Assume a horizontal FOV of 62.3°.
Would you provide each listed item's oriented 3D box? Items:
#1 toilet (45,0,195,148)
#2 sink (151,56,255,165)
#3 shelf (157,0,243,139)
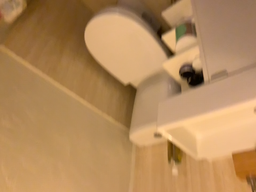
[{"bbox_3d":[0.030,-0.230,1.230,0.370,0.790,0.650,-23,133,33],"label":"toilet"},{"bbox_3d":[0.450,0.060,0.730,0.610,0.130,0.410,-23,133,33],"label":"sink"},{"bbox_3d":[0.350,-0.250,1.120,0.190,0.820,0.400,-23,133,33],"label":"shelf"}]
